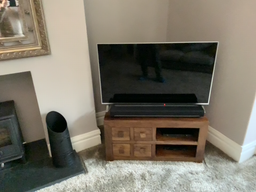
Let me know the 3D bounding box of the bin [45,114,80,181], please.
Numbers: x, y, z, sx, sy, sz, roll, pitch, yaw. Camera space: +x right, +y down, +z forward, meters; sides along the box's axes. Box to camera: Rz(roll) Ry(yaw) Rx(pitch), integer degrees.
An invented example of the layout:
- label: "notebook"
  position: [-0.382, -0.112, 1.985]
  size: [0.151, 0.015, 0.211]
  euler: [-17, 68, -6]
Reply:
- label: "bin"
  position: [-0.650, 0.510, 2.110]
  size: [0.220, 0.560, 0.260]
  euler: [-12, 28, -22]

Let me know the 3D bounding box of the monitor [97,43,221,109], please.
- label: "monitor"
  position: [0.280, -0.180, 2.110]
  size: [1.130, 0.670, 0.060]
  euler: [0, 26, 2]
